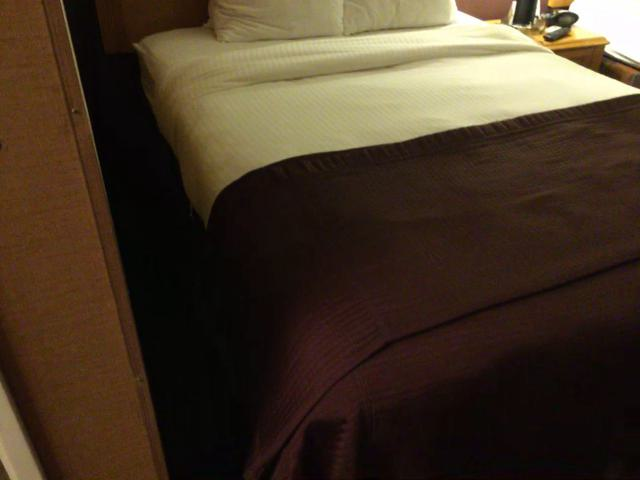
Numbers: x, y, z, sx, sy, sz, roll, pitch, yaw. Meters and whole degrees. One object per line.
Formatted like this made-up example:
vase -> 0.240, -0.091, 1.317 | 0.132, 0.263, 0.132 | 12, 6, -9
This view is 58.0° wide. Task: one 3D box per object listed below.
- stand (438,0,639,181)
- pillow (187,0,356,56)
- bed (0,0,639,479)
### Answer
stand -> 1.030, -0.770, 2.820 | 0.700, 0.700, 0.500 | -12, 35, -12
pillow -> -0.190, -0.940, 2.140 | 0.590, 0.370, 0.250 | -12, 35, -12
bed -> 0.210, -0.320, 1.820 | 1.850, 1.350, 2.100 | -12, 35, -12
